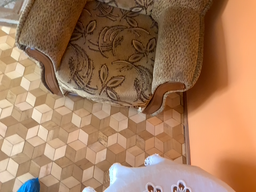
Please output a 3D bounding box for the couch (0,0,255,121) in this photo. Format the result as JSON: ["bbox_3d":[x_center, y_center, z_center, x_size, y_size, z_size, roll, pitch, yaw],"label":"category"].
[{"bbox_3d":[0.010,-0.520,1.180,0.900,0.910,0.920,13,65,-5],"label":"couch"}]
